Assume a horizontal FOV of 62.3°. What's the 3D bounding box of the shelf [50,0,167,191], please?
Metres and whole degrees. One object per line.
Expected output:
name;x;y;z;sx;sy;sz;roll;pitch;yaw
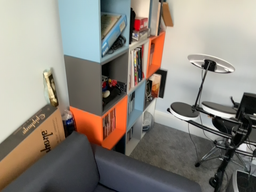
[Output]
shelf;-0.060;-0.140;1.760;0.280;1.400;1.090;16;31;22
